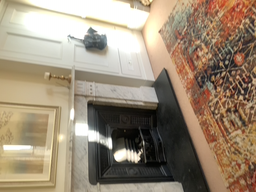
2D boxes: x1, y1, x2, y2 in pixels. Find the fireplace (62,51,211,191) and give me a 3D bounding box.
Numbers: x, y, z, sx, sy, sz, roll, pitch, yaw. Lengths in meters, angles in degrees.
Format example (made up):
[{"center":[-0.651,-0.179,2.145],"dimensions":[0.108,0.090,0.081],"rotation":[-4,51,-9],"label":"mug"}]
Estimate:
[{"center":[-0.040,0.480,2.400],"dimensions":[0.760,1.220,1.810],"rotation":[119,150,-46],"label":"fireplace"}]
